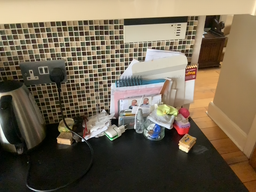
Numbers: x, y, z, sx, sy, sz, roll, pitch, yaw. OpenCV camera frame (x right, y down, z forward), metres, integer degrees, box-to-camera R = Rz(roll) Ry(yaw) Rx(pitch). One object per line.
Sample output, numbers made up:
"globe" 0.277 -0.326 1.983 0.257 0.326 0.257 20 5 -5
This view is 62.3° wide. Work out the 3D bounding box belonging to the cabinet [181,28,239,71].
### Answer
"cabinet" 1.350 -0.810 3.600 0.630 0.530 0.540 -6 32 -12
